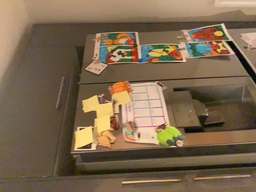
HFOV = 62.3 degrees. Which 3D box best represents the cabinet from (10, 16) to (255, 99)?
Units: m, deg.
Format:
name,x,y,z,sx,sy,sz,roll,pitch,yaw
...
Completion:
name,x,y,z,sx,sy,sz,roll,pitch,yaw
cabinet,0.270,-0.360,2.000,0.610,2.330,0.410,93,174,-48
